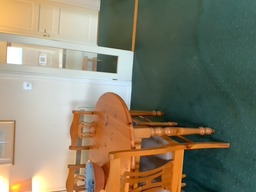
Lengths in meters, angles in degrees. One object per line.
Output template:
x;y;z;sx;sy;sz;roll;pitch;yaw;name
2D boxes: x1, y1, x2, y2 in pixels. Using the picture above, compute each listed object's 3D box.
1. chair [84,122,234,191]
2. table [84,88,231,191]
0.190;0.500;1.500;0.530;0.860;0.500;-165;78;-64;chair
0.120;0.680;1.790;0.940;0.740;1.390;-164;77;-64;table
